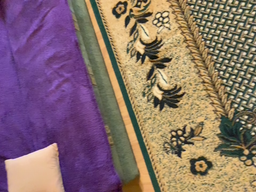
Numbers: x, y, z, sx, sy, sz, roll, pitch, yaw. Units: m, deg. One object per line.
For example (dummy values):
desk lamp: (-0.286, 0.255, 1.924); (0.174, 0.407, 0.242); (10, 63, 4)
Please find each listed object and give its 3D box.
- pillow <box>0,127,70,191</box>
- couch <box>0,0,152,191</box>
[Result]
pillow: (-0.540, 0.460, 1.210); (0.230, 0.350, 0.370); (-28, 117, 1)
couch: (-0.720, -0.270, 1.300); (0.780, 0.910, 2.040); (-25, 78, 32)
